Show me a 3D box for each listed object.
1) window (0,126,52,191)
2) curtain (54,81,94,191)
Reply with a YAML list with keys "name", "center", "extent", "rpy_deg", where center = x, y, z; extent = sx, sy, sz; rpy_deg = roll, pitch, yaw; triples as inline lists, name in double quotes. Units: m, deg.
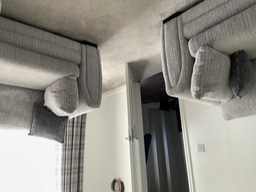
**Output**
- name: "window"
  center: [-2.190, 1.210, 3.460]
  extent: [1.730, 1.390, 0.340]
  rpy_deg: [8, 162, -39]
- name: "curtain"
  center: [-0.850, 0.900, 3.360]
  extent: [0.260, 2.230, 0.520]
  rpy_deg: [-18, 160, 41]
